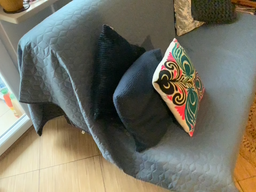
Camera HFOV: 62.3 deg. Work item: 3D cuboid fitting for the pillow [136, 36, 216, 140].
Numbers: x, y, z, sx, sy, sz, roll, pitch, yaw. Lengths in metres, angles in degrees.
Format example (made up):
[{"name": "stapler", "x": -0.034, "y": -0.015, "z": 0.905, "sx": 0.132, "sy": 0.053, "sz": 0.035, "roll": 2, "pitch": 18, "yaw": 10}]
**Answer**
[{"name": "pillow", "x": 0.260, "y": -0.020, "z": 1.160, "sx": 0.260, "sy": 0.430, "sz": 0.370, "roll": 17, "pitch": 72, "yaw": 17}]
